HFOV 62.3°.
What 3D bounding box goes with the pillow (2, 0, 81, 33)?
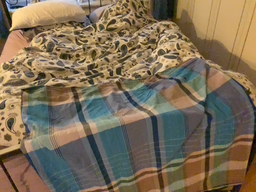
[{"bbox_3d":[-0.810,-0.820,2.070,0.630,0.210,0.420,-10,37,-11],"label":"pillow"}]
